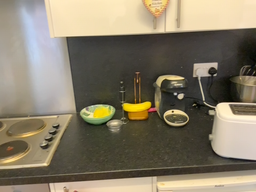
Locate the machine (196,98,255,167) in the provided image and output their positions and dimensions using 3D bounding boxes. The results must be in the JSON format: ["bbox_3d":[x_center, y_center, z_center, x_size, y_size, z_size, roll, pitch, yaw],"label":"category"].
[{"bbox_3d":[0.480,0.140,0.880,0.310,0.200,0.210,-2,19,0],"label":"machine"}]
